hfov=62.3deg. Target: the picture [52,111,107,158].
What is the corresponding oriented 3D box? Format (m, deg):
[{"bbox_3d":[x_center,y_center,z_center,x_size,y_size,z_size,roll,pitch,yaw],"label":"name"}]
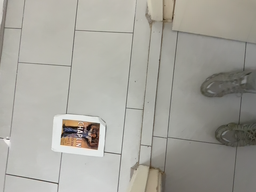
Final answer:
[{"bbox_3d":[-0.260,0.200,1.130,0.290,0.030,0.230,1,88,9],"label":"picture"}]
